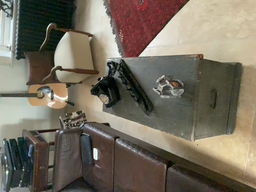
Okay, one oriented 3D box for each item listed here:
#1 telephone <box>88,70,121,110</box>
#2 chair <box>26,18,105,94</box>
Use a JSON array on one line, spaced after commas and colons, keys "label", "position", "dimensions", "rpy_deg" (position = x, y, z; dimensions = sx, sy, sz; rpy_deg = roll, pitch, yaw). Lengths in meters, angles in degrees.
[{"label": "telephone", "position": [-0.170, -0.040, 1.500], "dimensions": [0.180, 0.110, 0.210], "rpy_deg": [-40, 59, 42]}, {"label": "chair", "position": [-0.780, -0.420, 2.580], "dimensions": [0.680, 0.650, 0.580], "rpy_deg": [-28, 68, 47]}]
